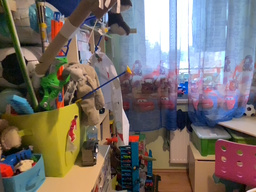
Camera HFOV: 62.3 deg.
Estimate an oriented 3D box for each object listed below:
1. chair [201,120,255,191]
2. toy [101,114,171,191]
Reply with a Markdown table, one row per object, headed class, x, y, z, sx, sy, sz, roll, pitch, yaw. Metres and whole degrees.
| class | x | y | z | sx | sy | sz | roll | pitch | yaw |
| --- | --- | --- | --- | --- | --- | --- | --- | --- | --- |
| chair | 0.930 | 0.670 | 1.700 | 0.500 | 0.770 | 0.520 | 7 | 15 | 39 |
| toy | 0.120 | 0.610 | 2.080 | 0.520 | 0.640 | 0.920 | -1 | 11 | 7 |
